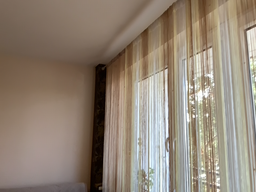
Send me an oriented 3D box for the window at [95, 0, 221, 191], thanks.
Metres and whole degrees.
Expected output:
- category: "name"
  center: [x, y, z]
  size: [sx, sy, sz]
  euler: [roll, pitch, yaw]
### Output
- category: "window"
  center: [0.030, 0.160, 1.940]
  size: [0.110, 1.630, 1.910]
  euler: [6, -11, -23]
